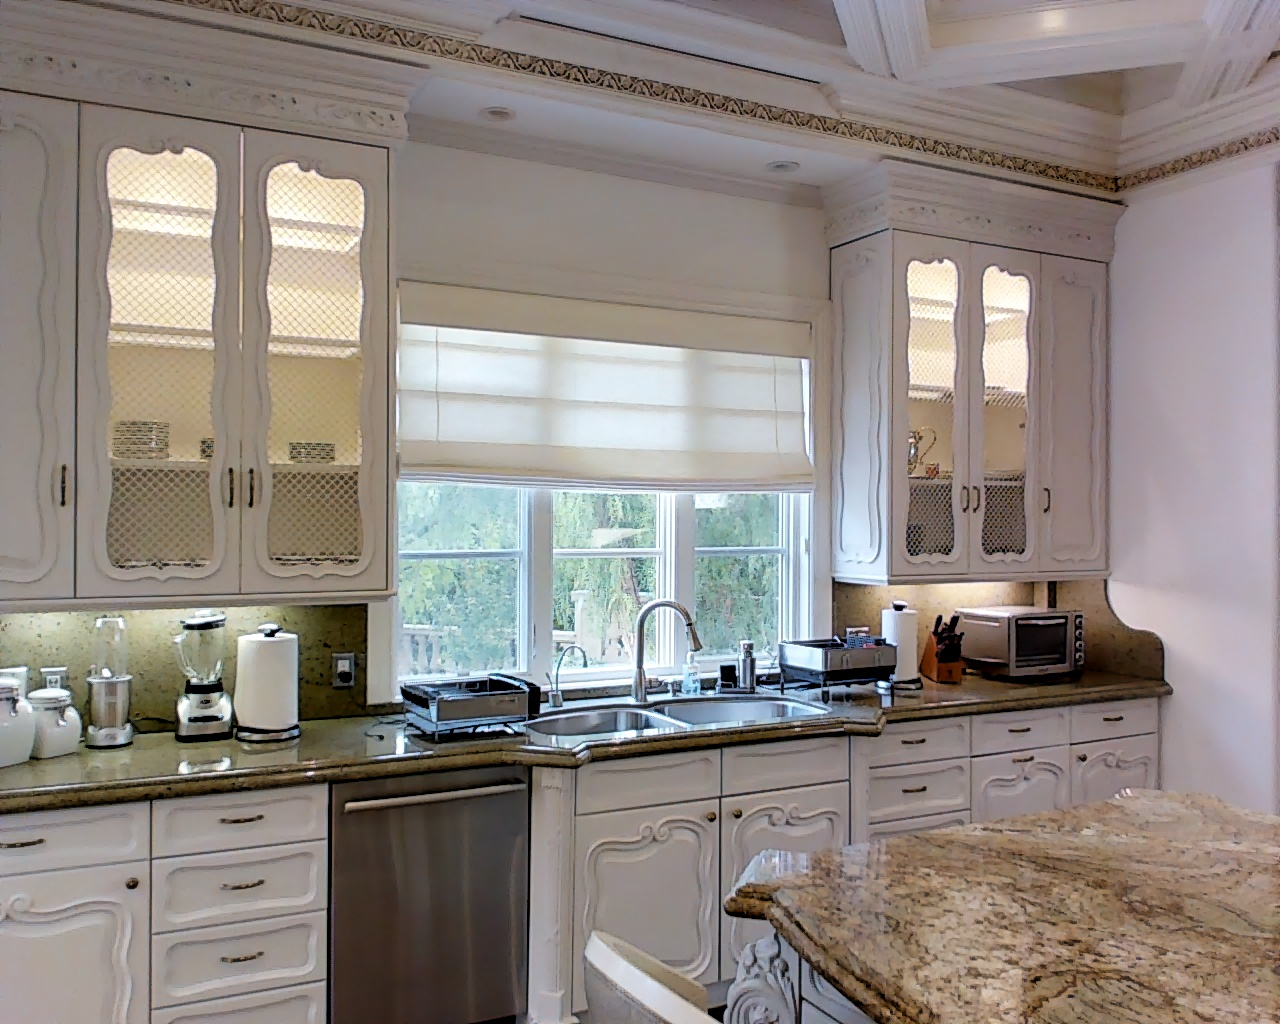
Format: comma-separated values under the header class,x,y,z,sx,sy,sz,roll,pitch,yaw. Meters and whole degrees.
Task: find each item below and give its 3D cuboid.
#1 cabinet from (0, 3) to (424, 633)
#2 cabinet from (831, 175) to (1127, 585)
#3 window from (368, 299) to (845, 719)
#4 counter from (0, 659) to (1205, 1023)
class,x,y,z,sx,sy,sz,roll,pitch,yaw
cabinet,-1.420,-0.510,3.230,1.430,1.660,0.500,0,0,-26
cabinet,1.500,-0.520,4.700,1.310,1.620,0.410,0,0,-26
window,-0.060,-0.010,4.180,1.930,1.430,0.240,0,0,-26
counter,0.120,1.180,3.840,4.699,0.940,0.720,0,0,-26
